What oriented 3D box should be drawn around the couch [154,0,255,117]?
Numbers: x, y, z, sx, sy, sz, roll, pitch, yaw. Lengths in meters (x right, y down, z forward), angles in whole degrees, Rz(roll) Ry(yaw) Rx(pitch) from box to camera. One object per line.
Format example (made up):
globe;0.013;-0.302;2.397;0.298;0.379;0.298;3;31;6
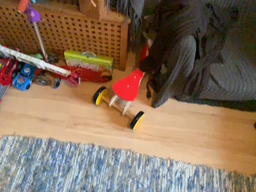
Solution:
couch;0.630;-0.370;1.360;0.810;0.670;0.760;5;61;-2
